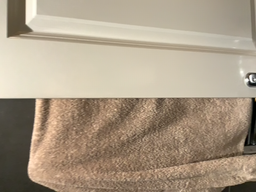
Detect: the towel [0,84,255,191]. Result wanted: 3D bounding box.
[{"bbox_3d":[-0.180,0.170,0.540,0.180,1.490,0.390,-164,75,-70],"label":"towel"}]
